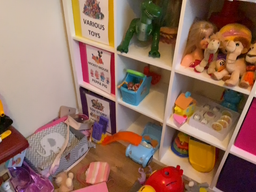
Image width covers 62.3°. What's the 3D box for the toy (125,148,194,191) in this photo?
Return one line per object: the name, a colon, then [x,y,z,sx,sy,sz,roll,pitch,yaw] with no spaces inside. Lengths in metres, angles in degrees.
toy: [0.180,0.520,1.220,0.240,0.180,0.340,26,42,29]
